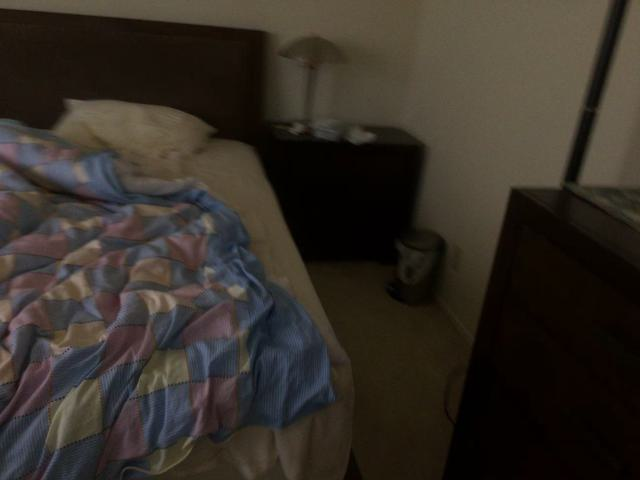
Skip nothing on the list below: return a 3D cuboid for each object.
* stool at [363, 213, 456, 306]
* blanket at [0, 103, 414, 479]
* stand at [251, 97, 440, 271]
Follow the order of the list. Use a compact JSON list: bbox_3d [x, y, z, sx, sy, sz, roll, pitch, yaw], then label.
[{"bbox_3d":[0.390,0.080,2.620,0.270,0.290,0.360,0,23,-13],"label":"stool"},{"bbox_3d":[-0.920,0.060,1.810,1.730,0.560,2.030,2,22,-14],"label":"blanket"},{"bbox_3d":[0.090,-0.270,2.870,0.770,0.730,0.390,2,22,-14],"label":"stand"}]
